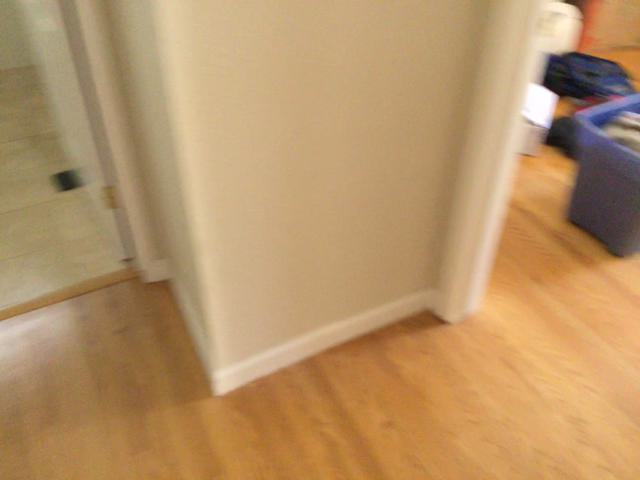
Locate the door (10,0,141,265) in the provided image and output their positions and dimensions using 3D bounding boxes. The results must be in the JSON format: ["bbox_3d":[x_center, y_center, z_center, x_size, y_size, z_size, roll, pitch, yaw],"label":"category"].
[{"bbox_3d":[-0.880,-0.810,1.750,0.090,1.770,0.740,-22,44,-24],"label":"door"}]

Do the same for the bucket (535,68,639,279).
[{"bbox_3d":[1.200,-0.270,2.010,0.590,0.480,0.490,-19,43,-22],"label":"bucket"}]
